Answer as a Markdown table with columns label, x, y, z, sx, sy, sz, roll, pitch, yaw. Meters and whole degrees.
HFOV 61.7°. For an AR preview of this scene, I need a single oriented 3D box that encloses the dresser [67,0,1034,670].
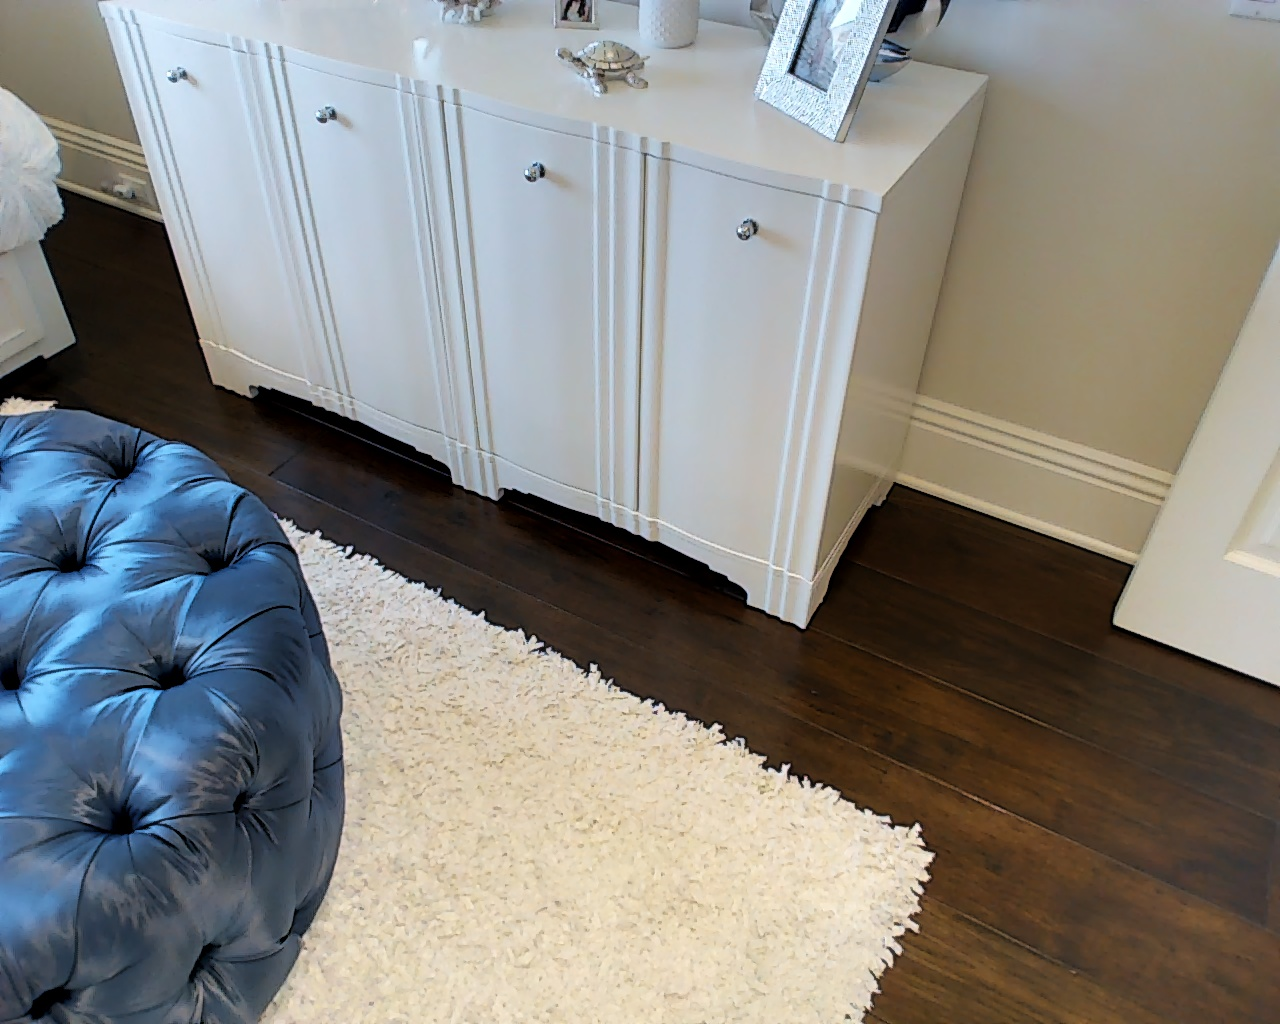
| label | x | y | z | sx | sy | sz | roll | pitch | yaw |
| --- | --- | --- | --- | --- | --- | --- | --- | --- | --- |
| dresser | -0.220 | -0.510 | 2.120 | 1.600 | 0.980 | 0.560 | 22 | 46 | 22 |
